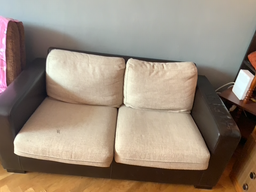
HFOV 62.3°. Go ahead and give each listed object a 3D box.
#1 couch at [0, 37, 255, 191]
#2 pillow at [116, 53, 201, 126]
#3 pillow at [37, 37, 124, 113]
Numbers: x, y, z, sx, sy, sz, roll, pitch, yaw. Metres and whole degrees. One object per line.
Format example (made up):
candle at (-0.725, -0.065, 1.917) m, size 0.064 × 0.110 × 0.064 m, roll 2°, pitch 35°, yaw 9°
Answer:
couch at (-0.100, 0.130, 1.790) m, size 1.640 × 0.760 × 1.030 m, roll 7°, pitch 32°, yaw -2°
pillow at (0.260, -0.060, 1.860) m, size 0.620 × 0.510 × 0.230 m, roll -10°, pitch 6°, yaw 4°
pillow at (-0.400, -0.170, 1.830) m, size 0.620 × 0.480 × 0.160 m, roll -15°, pitch -2°, yaw 4°
